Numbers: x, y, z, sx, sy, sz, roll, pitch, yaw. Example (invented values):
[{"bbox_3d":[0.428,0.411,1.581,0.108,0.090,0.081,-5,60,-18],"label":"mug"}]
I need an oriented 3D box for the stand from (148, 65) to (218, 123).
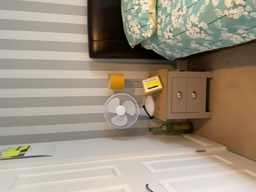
[{"bbox_3d":[0.510,-0.030,2.080,0.480,0.490,0.490,-169,79,-74],"label":"stand"}]

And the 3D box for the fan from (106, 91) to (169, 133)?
[{"bbox_3d":[0.080,0.140,2.130,0.290,0.560,0.350,-154,64,-73],"label":"fan"}]
